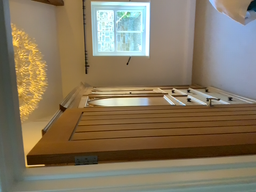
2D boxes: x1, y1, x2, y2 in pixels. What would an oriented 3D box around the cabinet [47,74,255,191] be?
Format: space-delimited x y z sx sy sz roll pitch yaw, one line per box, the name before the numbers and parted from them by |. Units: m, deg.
cabinet | 0.360 0.160 2.860 2.420 2.170 0.610 -119 29 -76
